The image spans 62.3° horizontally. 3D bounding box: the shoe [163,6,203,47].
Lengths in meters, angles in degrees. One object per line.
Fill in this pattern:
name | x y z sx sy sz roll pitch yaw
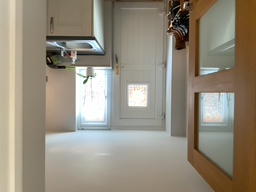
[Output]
shoe | 0.610 -0.780 2.490 0.250 0.250 0.750 0 -178 -2
